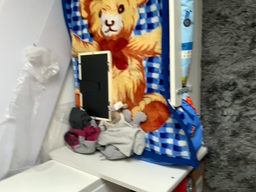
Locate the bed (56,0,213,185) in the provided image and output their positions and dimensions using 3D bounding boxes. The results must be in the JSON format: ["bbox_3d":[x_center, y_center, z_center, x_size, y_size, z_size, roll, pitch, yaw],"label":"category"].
[{"bbox_3d":[0.010,-0.360,1.250,0.820,0.380,1.450,1,98,37],"label":"bed"}]
